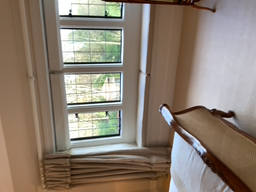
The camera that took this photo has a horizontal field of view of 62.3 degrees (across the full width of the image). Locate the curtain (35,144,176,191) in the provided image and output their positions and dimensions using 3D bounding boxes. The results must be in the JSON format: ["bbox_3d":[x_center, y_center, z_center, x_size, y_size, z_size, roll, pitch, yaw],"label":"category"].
[{"bbox_3d":[-0.330,1.320,3.700,0.420,2.290,0.580,-127,37,-67],"label":"curtain"}]
